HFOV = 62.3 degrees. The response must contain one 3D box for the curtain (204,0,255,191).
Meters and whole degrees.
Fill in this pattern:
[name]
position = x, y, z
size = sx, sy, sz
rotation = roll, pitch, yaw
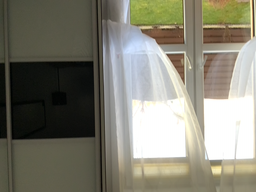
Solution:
[curtain]
position = 1.130, 0.030, 1.830
size = 0.800, 2.250, 0.350
rotation = -1, -179, -2
